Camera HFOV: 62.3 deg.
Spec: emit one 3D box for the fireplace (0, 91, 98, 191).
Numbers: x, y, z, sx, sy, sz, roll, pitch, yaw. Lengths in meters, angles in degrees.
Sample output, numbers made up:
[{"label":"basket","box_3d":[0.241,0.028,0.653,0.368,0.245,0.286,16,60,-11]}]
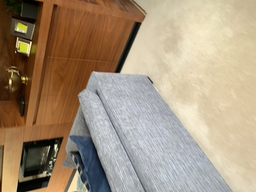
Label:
[{"label":"fireplace","box_3d":[-1.420,0.870,3.480,0.640,1.140,2.010,59,135,35]}]
